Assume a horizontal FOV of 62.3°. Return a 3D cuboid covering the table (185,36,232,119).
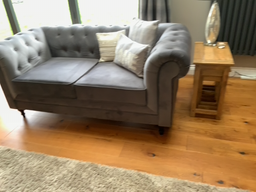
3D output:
[{"bbox_3d":[0.770,-0.220,2.120,0.310,0.550,0.720,6,32,15],"label":"table"}]
